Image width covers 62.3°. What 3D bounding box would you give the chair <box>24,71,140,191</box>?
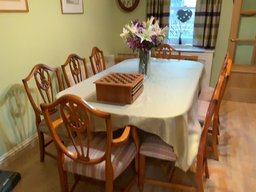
[{"bbox_3d":[-0.250,0.370,1.510,0.540,0.950,0.490,7,23,19],"label":"chair"}]

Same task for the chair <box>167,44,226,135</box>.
[{"bbox_3d":[0.850,-0.110,2.660,0.550,0.970,0.530,8,23,20],"label":"chair"}]

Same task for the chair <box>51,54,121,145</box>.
[{"bbox_3d":[-0.450,0.010,2.510,0.560,0.890,0.490,8,24,21],"label":"chair"}]

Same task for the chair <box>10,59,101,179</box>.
[{"bbox_3d":[-0.620,0.180,2.000,0.510,0.940,0.480,8,24,21],"label":"chair"}]

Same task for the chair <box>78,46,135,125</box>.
[{"bbox_3d":[-0.260,-0.180,2.940,0.570,0.920,0.520,8,24,21],"label":"chair"}]
